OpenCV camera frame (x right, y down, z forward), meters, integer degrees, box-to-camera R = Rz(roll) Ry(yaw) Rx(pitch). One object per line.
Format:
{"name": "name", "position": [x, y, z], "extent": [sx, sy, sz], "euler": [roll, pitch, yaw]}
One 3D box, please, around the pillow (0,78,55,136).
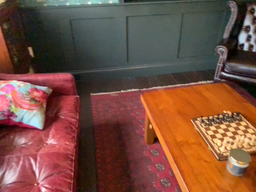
{"name": "pillow", "position": [-0.800, 0.070, 1.580], "extent": [0.390, 0.240, 0.360], "euler": [-4, 33, -6]}
